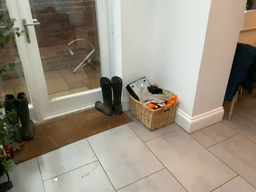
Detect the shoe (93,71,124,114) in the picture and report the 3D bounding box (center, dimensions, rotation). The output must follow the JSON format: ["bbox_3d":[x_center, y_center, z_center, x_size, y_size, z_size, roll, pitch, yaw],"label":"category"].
[{"bbox_3d":[-0.210,-0.040,2.300,0.270,0.370,0.230,-10,31,-18],"label":"shoe"}]
